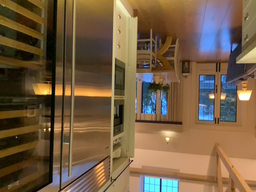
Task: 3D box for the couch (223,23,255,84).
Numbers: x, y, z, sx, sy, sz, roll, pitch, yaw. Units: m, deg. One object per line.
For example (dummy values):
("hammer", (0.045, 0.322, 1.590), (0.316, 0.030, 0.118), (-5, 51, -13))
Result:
("couch", (2.620, -0.720, 4.250), (1.020, 0.860, 1.960), (2, 180, 17))
